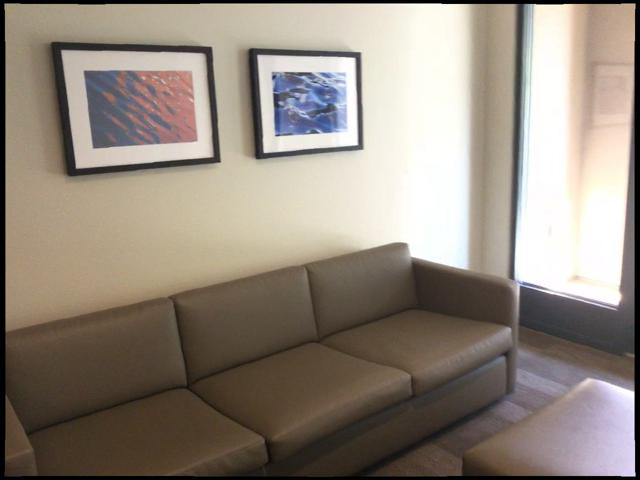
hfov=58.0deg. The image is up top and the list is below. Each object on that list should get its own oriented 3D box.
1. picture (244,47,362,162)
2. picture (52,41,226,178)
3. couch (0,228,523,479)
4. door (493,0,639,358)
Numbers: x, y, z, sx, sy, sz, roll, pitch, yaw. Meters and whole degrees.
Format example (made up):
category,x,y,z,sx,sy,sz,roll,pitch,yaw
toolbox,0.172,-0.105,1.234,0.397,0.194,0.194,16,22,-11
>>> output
category,x,y,z,sx,sy,sz,roll,pitch,yaw
picture,-0.060,-0.681,2.860,0.659,0.511,0.080,-13,20,-38
picture,-0.719,-0.551,2.400,0.659,0.501,0.090,-14,18,-38
couch,-0.249,0.581,2.430,2.267,0.711,0.999,-13,20,-38
door,1.437,-0.531,3.280,0.260,2.274,0.719,-13,19,-37
